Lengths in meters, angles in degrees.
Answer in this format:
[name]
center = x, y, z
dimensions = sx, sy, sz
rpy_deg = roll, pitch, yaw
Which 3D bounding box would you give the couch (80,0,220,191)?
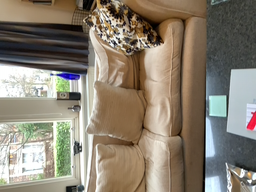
[couch]
center = 0.090, 0.280, 1.850
dimensions = 0.960, 0.770, 2.190
rpy_deg = -176, 87, -65
